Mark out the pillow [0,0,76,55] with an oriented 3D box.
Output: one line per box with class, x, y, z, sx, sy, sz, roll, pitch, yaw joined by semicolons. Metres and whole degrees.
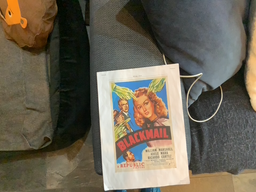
pillow;-0.430;-0.430;0.950;0.330;0.260;0.410;0;78;-1
